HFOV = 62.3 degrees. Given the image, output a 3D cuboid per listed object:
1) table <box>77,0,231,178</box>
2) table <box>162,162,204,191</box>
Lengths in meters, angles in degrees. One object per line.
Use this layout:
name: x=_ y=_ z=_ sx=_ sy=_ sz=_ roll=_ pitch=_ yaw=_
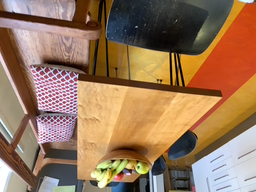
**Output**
table: x=-0.040 y=0.060 z=1.590 sx=0.580 sy=0.740 sz=1.510 roll=6 pitch=147 yaw=-10
table: x=1.110 y=1.790 z=4.340 sx=0.660 sy=0.730 sz=0.410 roll=3 pitch=148 yaw=-7
